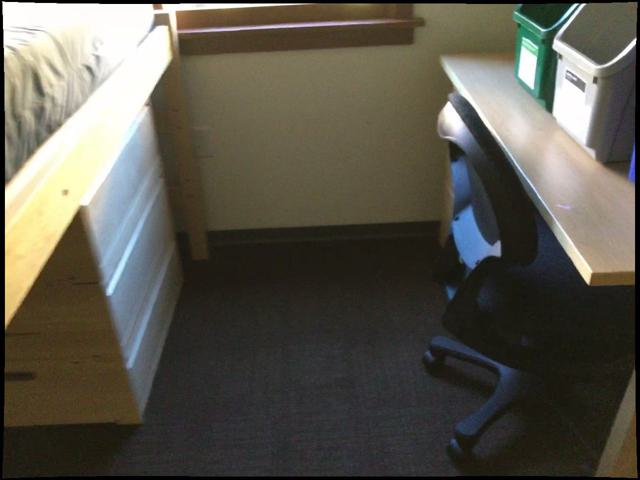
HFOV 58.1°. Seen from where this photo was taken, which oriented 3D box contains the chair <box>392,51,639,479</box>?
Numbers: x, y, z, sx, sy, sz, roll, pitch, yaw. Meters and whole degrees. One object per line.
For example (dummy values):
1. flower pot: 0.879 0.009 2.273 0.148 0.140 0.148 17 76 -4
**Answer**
1. chair: 0.549 0.070 1.460 0.598 0.882 0.640 -3 33 -1
